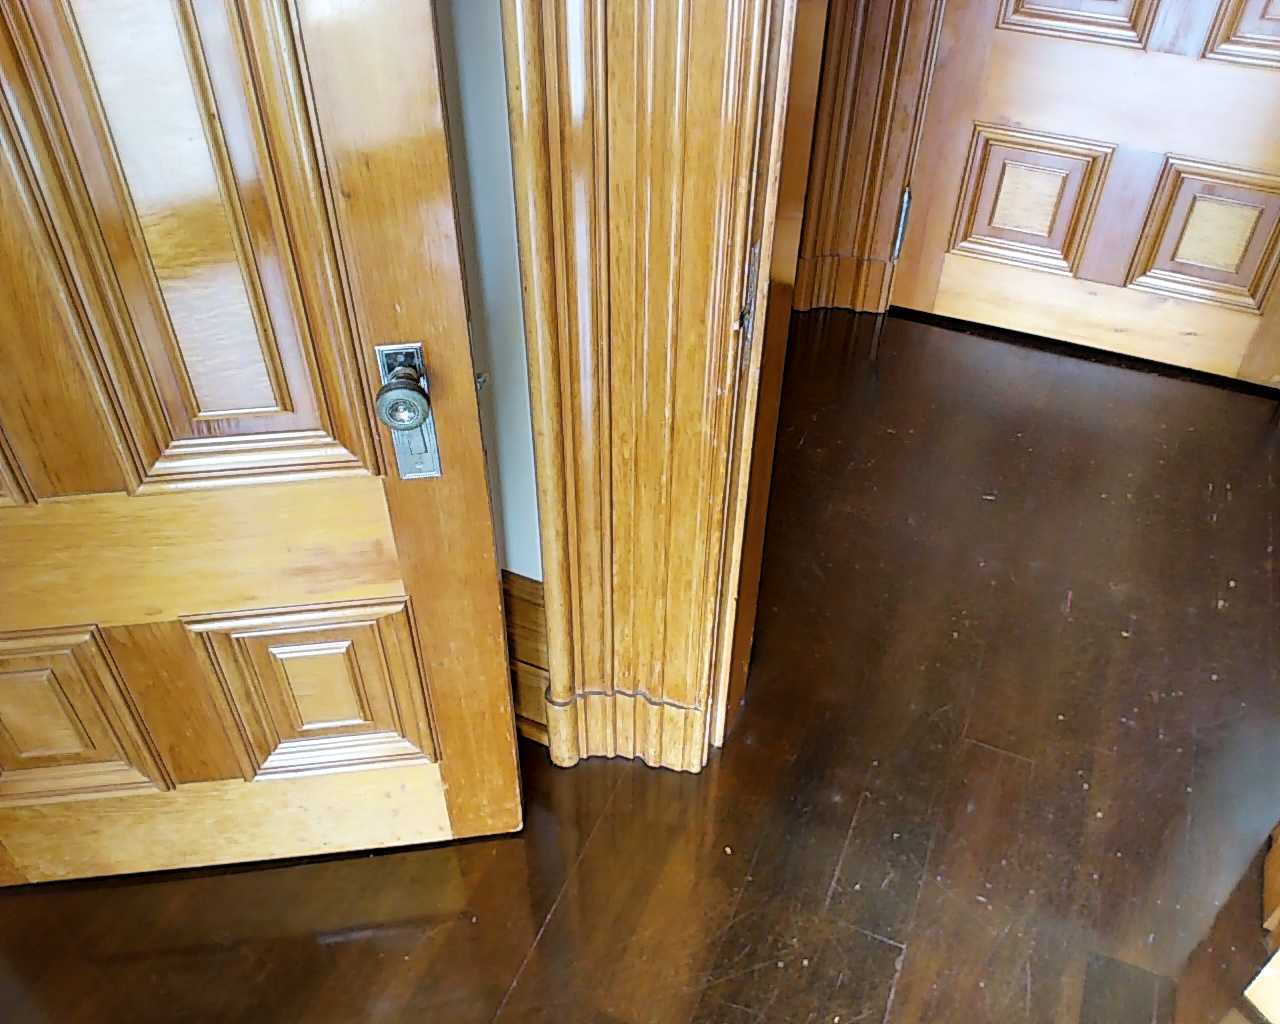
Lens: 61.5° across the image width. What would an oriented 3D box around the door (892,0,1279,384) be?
[{"bbox_3d":[1.200,-1.300,2.120,1.040,2.220,0.070,17,44,17],"label":"door"}]
